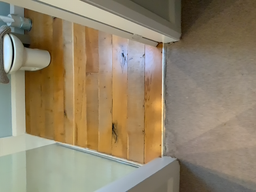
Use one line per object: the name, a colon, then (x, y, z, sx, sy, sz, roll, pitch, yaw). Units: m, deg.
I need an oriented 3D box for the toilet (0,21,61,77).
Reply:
toilet: (-1.130, -0.380, 1.870, 0.650, 0.800, 0.390, 4, 94, 36)
